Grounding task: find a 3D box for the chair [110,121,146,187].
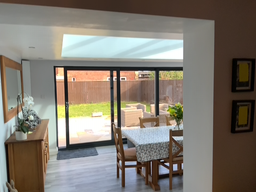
[{"bbox_3d":[-0.010,0.930,3.550,0.490,0.930,0.460,-2,5,-16],"label":"chair"}]
